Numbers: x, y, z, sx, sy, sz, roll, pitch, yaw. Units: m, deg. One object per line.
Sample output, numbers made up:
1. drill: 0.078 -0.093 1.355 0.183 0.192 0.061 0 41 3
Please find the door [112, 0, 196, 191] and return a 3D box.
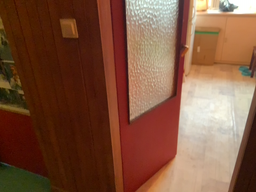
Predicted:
1. door: 0.220 -0.090 1.530 0.070 1.880 0.730 23 37 38
